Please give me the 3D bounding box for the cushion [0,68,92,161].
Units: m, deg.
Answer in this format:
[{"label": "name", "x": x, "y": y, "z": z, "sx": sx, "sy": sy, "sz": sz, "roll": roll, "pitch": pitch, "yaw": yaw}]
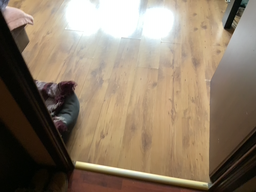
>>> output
[{"label": "cushion", "x": -0.580, "y": 0.100, "z": 1.340, "sx": 0.580, "sy": 0.230, "sz": 0.460, "roll": 8, "pitch": 52, "yaw": 5}]
